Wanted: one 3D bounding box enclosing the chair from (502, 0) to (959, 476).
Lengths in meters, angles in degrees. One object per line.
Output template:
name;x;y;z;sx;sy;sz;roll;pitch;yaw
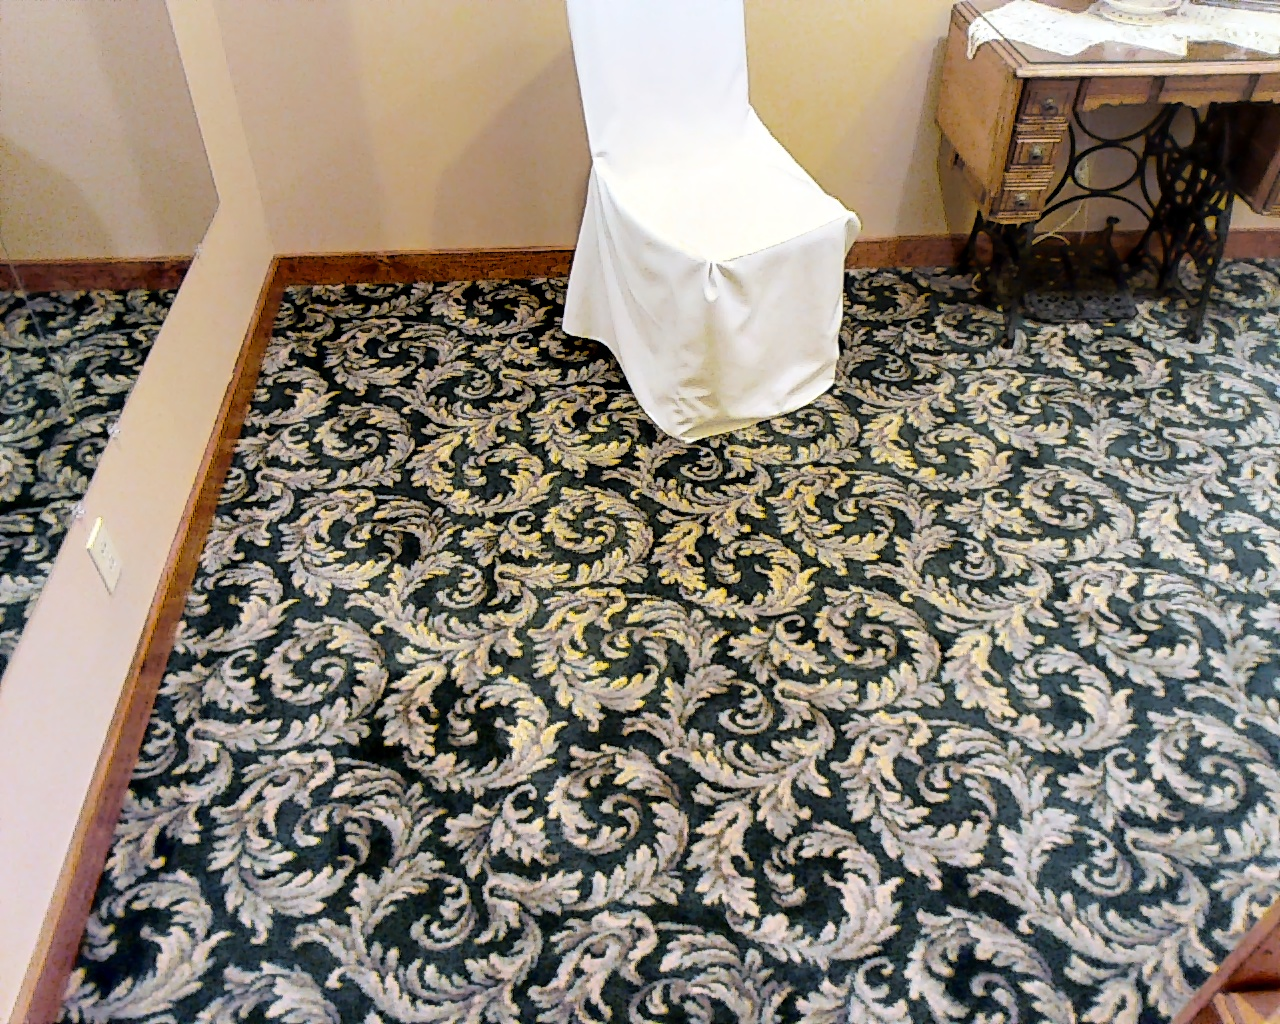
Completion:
chair;0.160;-0.770;2.380;0.620;1.040;0.670;-27;49;-26

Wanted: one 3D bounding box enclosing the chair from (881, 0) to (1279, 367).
chair;1.180;-0.850;2.650;0.940;0.790;0.490;-4;43;-5
